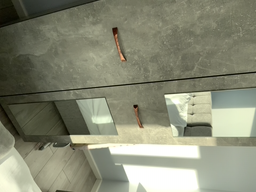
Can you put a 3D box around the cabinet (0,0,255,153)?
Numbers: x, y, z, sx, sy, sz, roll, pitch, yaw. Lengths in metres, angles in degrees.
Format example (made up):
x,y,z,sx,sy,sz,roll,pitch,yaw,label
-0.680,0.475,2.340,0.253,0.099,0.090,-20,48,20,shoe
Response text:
x,y,z,sx,sy,sz,roll,pitch,yaw,label
0.070,-0.190,1.190,0.550,1.900,0.790,-63,144,-51,cabinet
